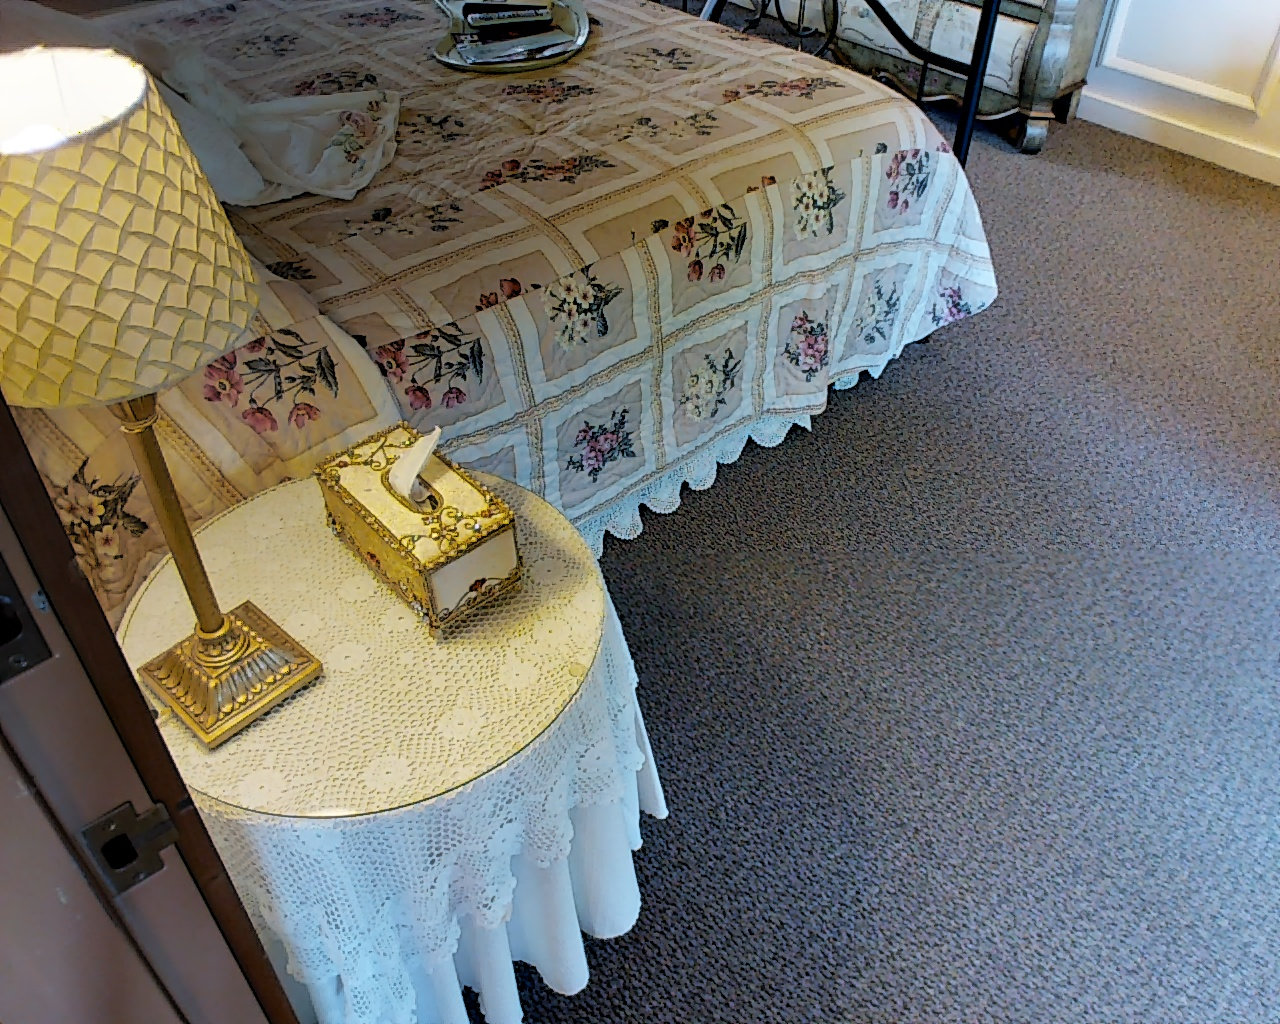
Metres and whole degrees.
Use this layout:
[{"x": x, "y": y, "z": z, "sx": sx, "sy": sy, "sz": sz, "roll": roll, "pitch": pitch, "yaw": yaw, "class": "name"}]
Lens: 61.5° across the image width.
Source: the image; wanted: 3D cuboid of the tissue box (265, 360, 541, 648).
[{"x": -0.300, "y": -0.020, "z": 1.370, "sx": 0.170, "sy": 0.170, "sz": 0.330, "roll": -31, "pitch": 51, "yaw": -32, "class": "tissue box"}]

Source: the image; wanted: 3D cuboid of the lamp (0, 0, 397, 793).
[{"x": -0.500, "y": -0.110, "z": 1.070, "sx": 0.290, "sy": 0.700, "sz": 0.330, "roll": -31, "pitch": 51, "yaw": -32, "class": "lamp"}]
